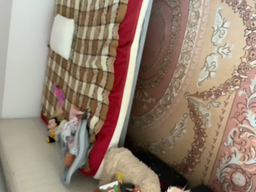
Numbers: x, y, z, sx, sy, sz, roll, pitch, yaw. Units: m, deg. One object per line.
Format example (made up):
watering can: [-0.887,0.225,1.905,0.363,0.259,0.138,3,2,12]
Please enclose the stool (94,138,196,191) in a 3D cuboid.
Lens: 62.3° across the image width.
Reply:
stool: [0.090,0.590,1.480,0.530,0.390,0.360,26,108,49]
